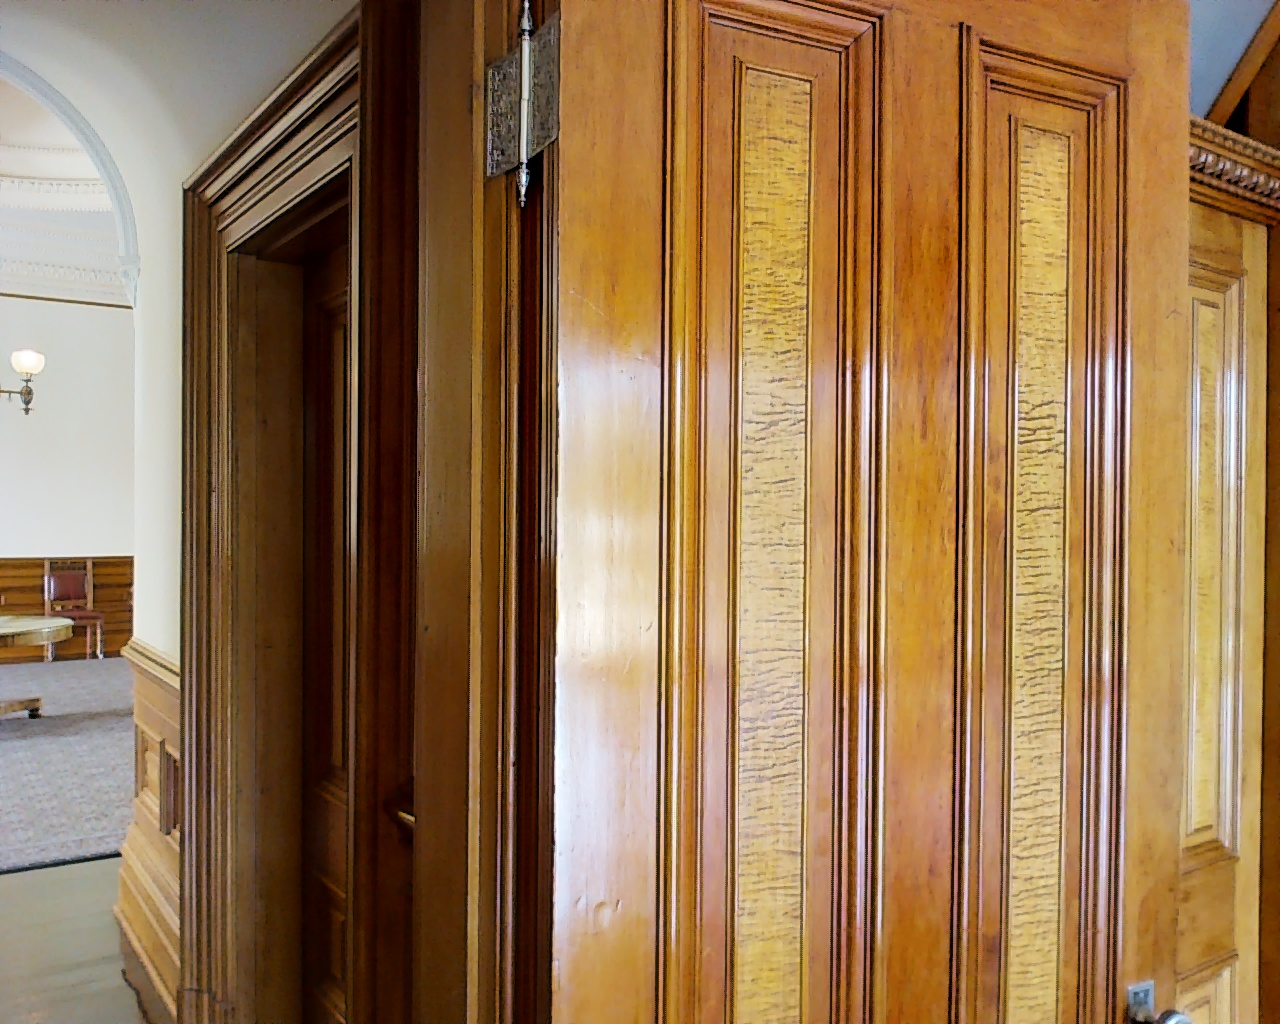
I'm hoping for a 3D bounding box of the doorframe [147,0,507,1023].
[{"bbox_3d":[-0.860,0.230,2.640,0.340,2.540,1.570,0,0,-35],"label":"doorframe"}]
